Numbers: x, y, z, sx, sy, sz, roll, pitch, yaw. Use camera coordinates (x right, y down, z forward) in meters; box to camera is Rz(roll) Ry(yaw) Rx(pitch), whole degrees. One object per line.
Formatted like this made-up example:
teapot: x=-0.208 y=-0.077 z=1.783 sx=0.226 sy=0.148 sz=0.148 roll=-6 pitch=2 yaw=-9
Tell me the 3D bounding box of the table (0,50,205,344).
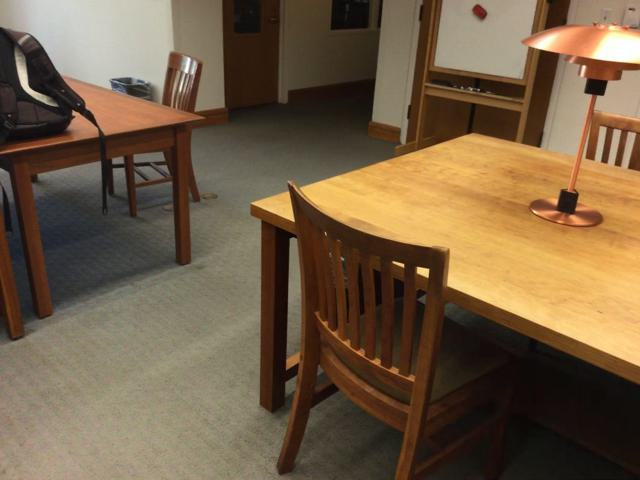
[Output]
table: x=-1.600 y=-0.390 z=2.930 sx=1.870 sy=0.770 sz=1.060 roll=25 pitch=33 yaw=36
